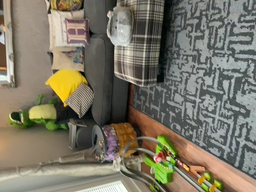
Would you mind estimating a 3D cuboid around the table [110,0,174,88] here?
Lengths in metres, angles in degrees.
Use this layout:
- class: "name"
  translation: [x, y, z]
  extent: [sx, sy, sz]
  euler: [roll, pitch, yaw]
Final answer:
- class: "table"
  translation: [0.100, -0.610, 1.960]
  extent: [0.540, 0.310, 0.970]
  euler: [29, 118, 59]

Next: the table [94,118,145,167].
- class: "table"
  translation: [-0.110, 0.500, 2.380]
  extent: [0.360, 0.430, 0.360]
  euler: [33, 121, 58]

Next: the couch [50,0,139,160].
- class: "couch"
  translation: [-0.500, -0.830, 2.650]
  extent: [1.190, 0.730, 2.820]
  euler: [29, 118, 59]
